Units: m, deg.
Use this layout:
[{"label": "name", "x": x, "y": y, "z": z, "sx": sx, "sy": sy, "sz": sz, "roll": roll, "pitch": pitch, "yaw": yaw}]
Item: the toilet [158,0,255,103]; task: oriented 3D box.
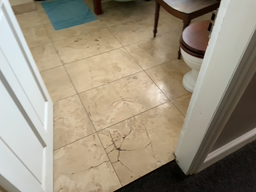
[{"label": "toilet", "x": 0.670, "y": -0.490, "z": 1.500, "sx": 0.700, "sy": 0.820, "sz": 0.440, "roll": -22, "pitch": 52, "yaw": -18}]
